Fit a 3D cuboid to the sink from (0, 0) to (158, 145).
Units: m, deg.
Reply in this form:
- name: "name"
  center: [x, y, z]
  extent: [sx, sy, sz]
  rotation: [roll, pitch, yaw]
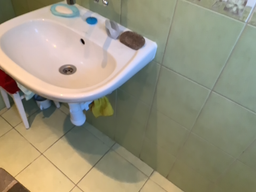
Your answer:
- name: "sink"
  center: [-0.230, -0.150, 0.790]
  extent: [0.520, 0.170, 0.410]
  rotation: [31, 52, 21]

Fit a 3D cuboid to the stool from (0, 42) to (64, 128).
- name: "stool"
  center: [-0.670, -0.070, 1.430]
  extent: [0.310, 0.420, 0.260]
  rotation: [31, 52, 21]
